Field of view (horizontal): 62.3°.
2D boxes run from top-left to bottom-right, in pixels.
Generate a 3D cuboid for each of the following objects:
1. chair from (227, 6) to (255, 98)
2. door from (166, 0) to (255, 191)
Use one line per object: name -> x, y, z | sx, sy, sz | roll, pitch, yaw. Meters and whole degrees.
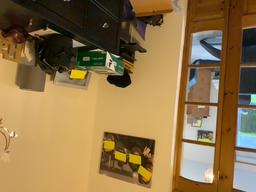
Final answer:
chair -> 1.560, -0.530, 2.770 | 0.410, 1.040, 0.560 | 3, 175, 27
door -> 0.990, -0.180, 1.750 | 1.140, 2.060, 0.290 | 3, 175, 32
